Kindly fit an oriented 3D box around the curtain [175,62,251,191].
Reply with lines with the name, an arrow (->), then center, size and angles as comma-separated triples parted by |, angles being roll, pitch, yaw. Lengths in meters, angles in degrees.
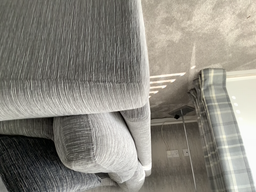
curtain -> 0.750, 0.890, 1.690 | 0.290, 2.400, 0.560 | -6, 153, 4
